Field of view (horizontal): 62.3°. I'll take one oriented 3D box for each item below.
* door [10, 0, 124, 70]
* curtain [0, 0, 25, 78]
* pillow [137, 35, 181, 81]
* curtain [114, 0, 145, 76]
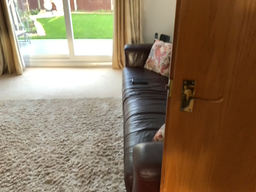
[{"bbox_3d":[-1.030,-1.490,3.680,1.900,2.110,0.140,1,26,1],"label":"door"},{"bbox_3d":[-2.000,-1.360,3.130,0.410,2.280,0.170,1,26,1],"label":"curtain"},{"bbox_3d":[0.360,-0.460,2.550,0.120,0.390,0.420,2,34,-44],"label":"pillow"},{"bbox_3d":[0.020,-1.460,3.280,0.470,2.390,0.120,1,26,2],"label":"curtain"}]
